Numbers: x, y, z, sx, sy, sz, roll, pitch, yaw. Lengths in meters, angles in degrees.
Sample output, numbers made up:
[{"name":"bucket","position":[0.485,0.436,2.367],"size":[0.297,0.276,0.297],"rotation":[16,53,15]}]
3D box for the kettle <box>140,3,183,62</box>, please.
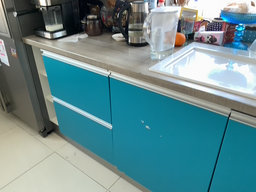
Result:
[{"name":"kettle","position":[0.170,-0.330,1.090],"size":[0.110,0.240,0.210],"rotation":[22,37,32]}]
